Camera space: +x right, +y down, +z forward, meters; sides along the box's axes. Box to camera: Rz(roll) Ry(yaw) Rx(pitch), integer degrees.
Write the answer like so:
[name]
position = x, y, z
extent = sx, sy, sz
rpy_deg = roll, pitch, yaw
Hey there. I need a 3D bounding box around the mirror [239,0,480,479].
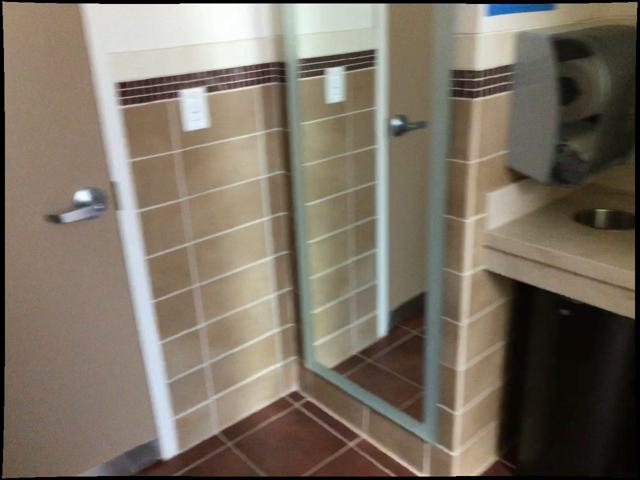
[mirror]
position = 0.110, -0.080, 1.760
extent = 0.110, 1.664, 0.799
rpy_deg = -22, 27, -35
